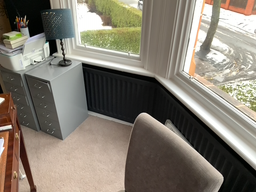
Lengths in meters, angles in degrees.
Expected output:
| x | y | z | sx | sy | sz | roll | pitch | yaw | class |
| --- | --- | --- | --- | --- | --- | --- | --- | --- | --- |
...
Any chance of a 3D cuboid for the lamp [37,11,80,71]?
| x | y | z | sx | sy | sz | roll | pitch | yaw | class |
| --- | --- | --- | --- | --- | --- | --- | --- | --- | --- |
| -0.590 | -0.480 | 1.850 | 0.200 | 0.430 | 0.230 | 14 | 35 | 17 | lamp |
